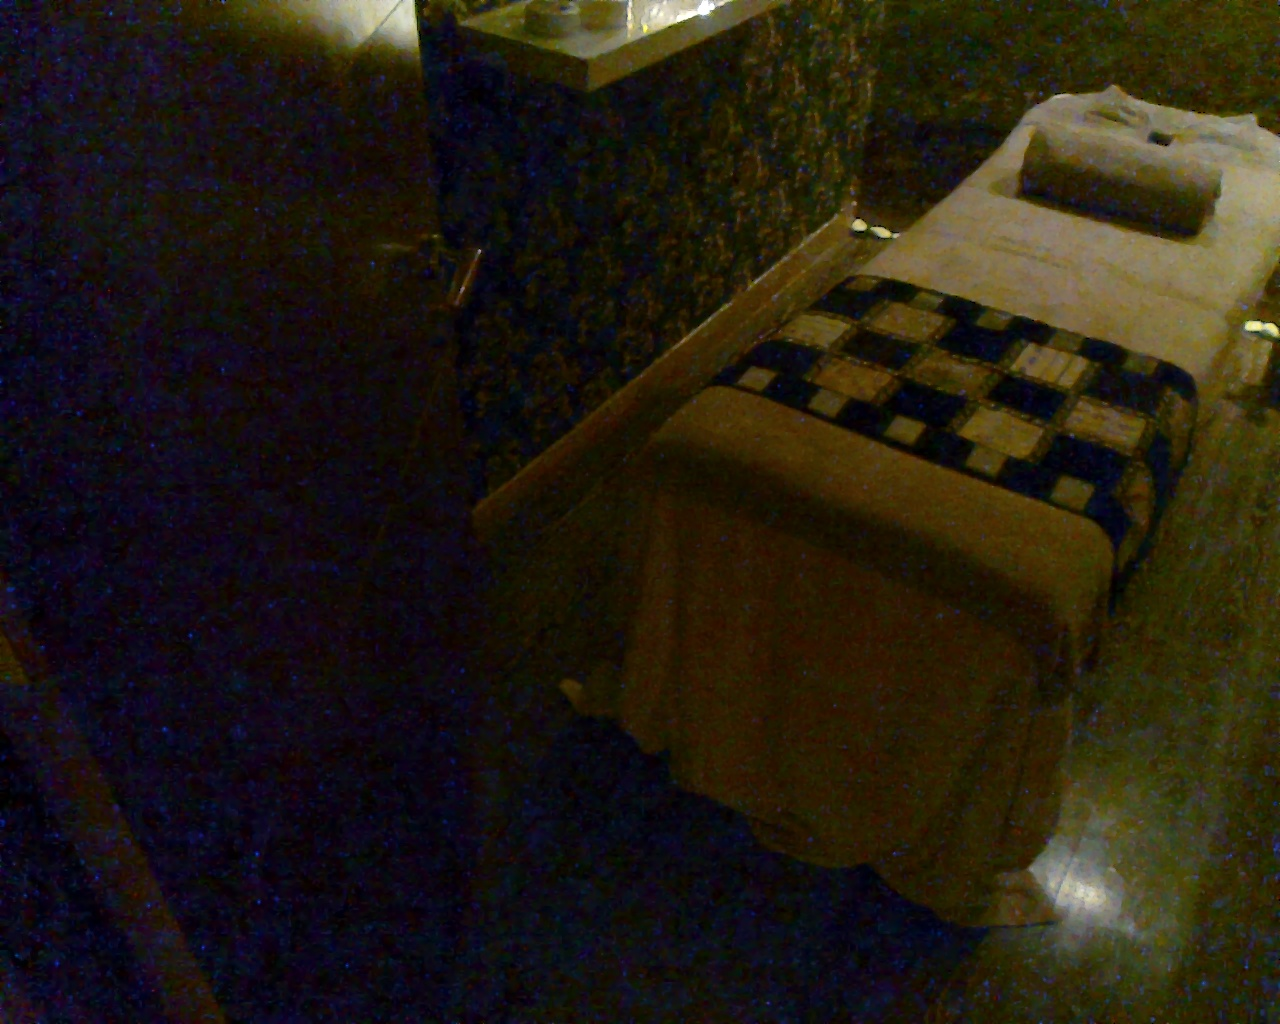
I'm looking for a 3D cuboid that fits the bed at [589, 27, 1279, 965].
[{"bbox_3d":[0.760,-0.250,2.180,0.750,0.830,1.900,24,45,24],"label":"bed"}]
